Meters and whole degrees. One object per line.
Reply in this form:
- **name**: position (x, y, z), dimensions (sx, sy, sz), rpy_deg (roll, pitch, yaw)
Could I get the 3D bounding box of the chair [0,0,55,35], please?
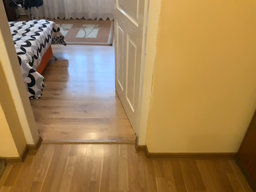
- **chair**: position (-1.970, -1.850, 4.010), dimensions (0.750, 1.150, 0.750), rpy_deg (2, 34, 1)
